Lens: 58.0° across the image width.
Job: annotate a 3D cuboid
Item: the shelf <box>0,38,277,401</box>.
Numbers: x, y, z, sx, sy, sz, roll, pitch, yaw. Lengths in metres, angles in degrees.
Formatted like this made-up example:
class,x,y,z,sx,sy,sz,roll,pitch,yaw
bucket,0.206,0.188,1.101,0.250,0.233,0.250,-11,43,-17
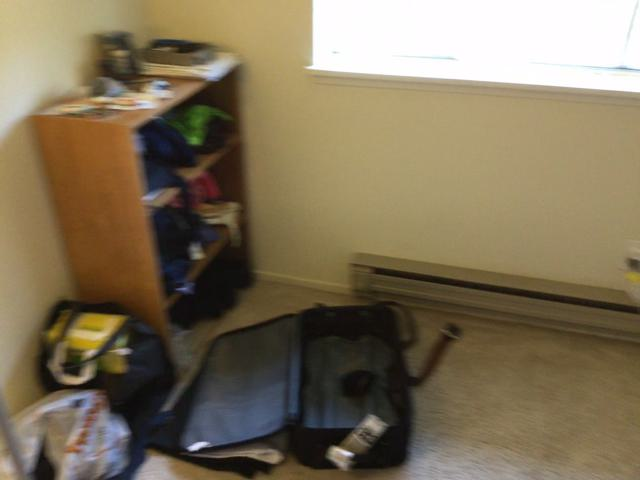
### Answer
class,x,y,z,sx,sy,sz,roll,pitch,yaw
shelf,-0.490,-0.100,1.900,0.380,0.950,0.690,7,31,18

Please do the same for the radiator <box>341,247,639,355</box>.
class,x,y,z,sx,sy,sz,roll,pitch,yaw
radiator,0.860,0.240,1.950,1.620,0.210,0.090,7,31,18

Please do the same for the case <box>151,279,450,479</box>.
class,x,y,z,sx,sy,sz,roll,pitch,yaw
case,-0.050,0.410,1.850,0.780,0.180,0.700,-3,30,1
